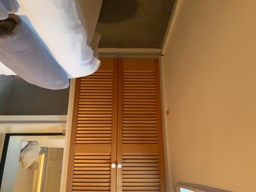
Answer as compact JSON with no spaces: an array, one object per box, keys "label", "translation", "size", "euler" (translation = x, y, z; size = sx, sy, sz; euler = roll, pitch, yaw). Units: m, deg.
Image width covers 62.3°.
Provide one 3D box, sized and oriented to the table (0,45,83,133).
[{"label":"table","translation":[-0.970,-0.050,2.170],"size":[0.860,0.770,0.510],"euler":[0,161,-1]}]
